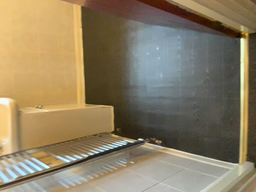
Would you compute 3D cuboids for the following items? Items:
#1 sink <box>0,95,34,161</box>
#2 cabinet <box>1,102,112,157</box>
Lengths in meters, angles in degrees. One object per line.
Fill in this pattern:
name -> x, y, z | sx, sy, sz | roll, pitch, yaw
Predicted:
sink -> -0.940, 0.220, 1.690 | 0.530, 0.160, 0.440 | 0, 93, 46
cabinet -> -0.640, 0.250, 1.980 | 0.520, 0.820, 0.330 | 0, 93, 46
